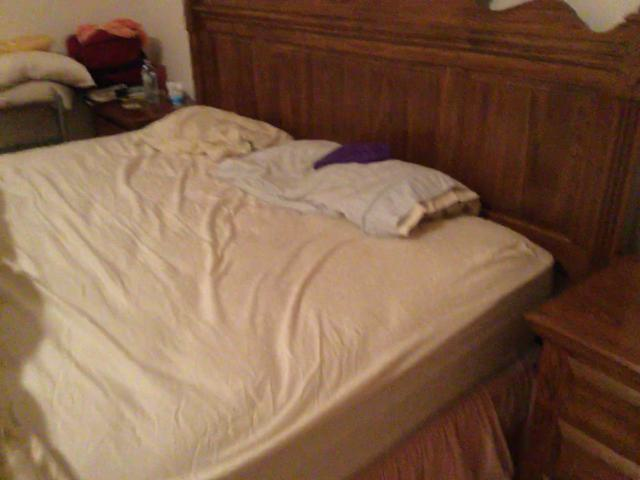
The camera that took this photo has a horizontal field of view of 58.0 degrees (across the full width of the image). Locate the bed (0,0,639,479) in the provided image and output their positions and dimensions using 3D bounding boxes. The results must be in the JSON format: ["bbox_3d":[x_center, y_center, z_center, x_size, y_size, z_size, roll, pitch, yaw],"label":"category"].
[{"bbox_3d":[-0.720,-0.090,1.470,2.240,1.660,2.080,-13,28,-37],"label":"bed"}]
